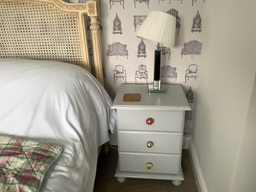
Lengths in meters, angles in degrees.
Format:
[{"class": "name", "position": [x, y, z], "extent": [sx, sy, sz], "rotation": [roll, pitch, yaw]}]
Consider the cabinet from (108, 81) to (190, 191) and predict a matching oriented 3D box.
[{"class": "cabinet", "position": [0.140, 0.270, 1.520], "extent": [0.460, 0.640, 0.440], "rotation": [1, 24, 5]}]

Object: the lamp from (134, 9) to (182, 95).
[{"class": "lamp", "position": [0.170, -0.280, 1.330], "extent": [0.250, 0.480, 0.250], "rotation": [1, 24, 5]}]
